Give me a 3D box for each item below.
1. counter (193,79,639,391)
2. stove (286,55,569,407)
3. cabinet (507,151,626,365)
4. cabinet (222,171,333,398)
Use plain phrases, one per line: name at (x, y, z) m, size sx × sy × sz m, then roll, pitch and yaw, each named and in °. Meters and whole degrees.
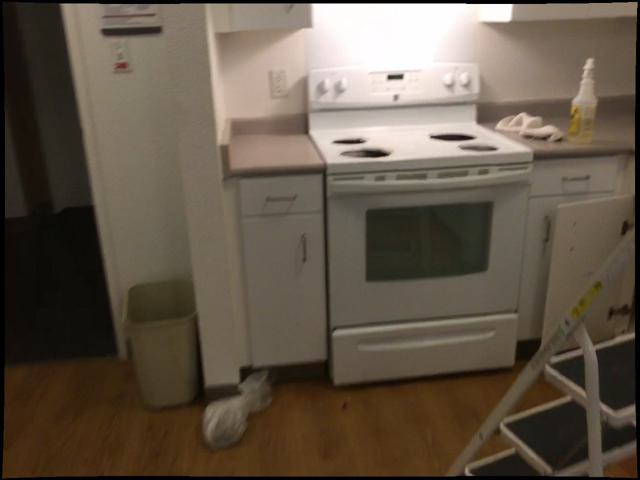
counter at (0.738, -0.271, 1.890) m, size 2.155 × 0.190 × 1.800 m, roll -6°, pitch 22°, yaw -7°
stove at (0.379, -0.090, 2.450) m, size 0.888 × 1.233 × 0.740 m, roll -6°, pitch 22°, yaw -7°
cabinet at (0.977, 0.090, 2.330) m, size 0.369 × 0.862 × 0.090 m, roll -6°, pitch 22°, yaw -7°
cabinet at (-0.150, 0.190, 2.220) m, size 0.349 × 0.882 × 0.090 m, roll -6°, pitch 22°, yaw -7°
